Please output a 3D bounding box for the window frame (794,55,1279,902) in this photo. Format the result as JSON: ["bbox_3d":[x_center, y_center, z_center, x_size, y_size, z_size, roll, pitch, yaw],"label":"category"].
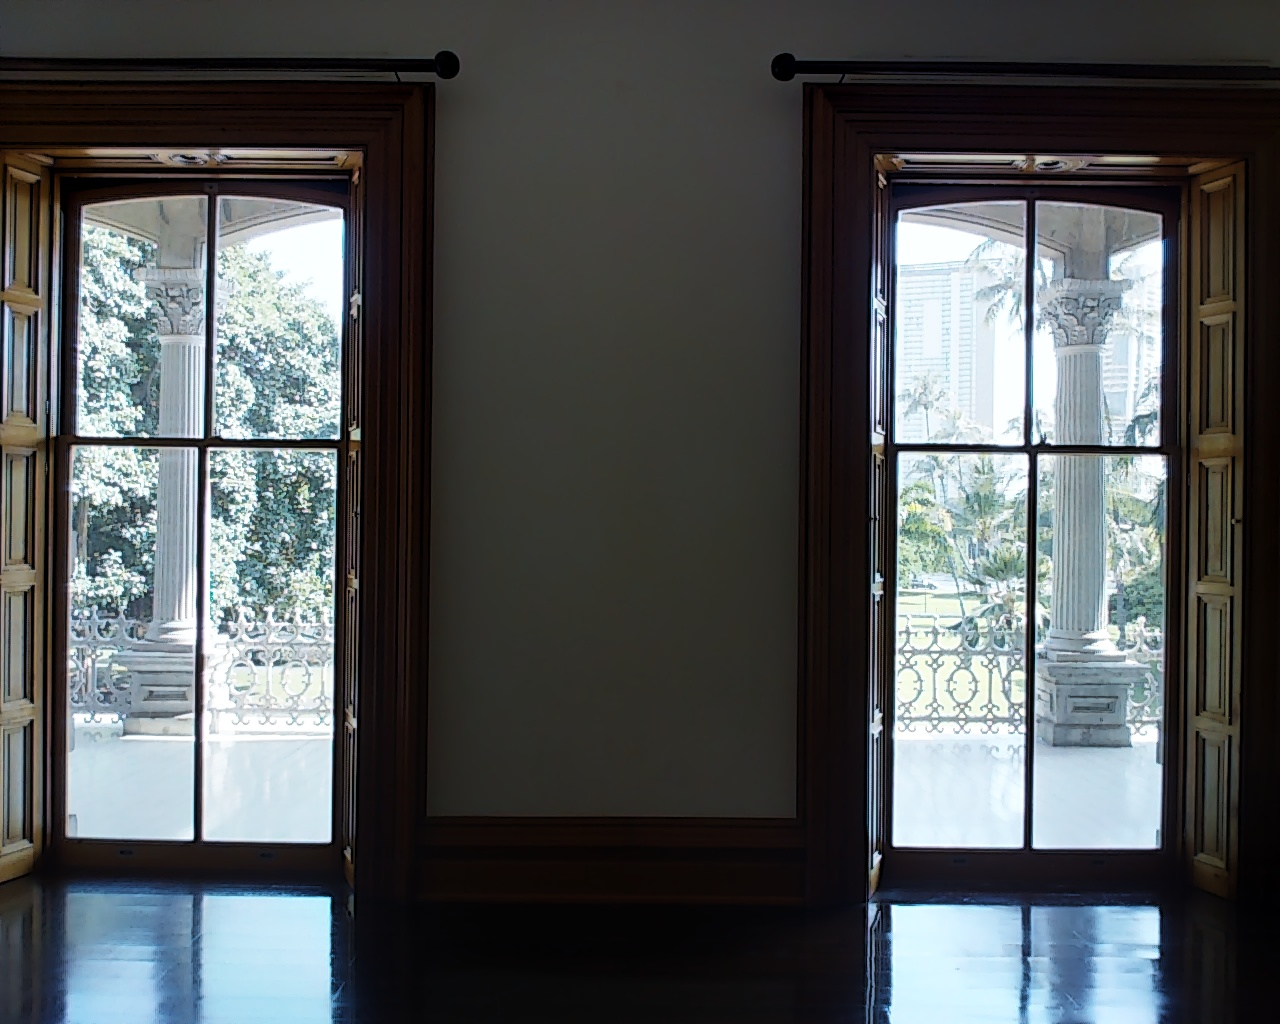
[{"bbox_3d":[1.810,-0.140,4.590,2.200,3.390,0.520,1,0,2],"label":"window frame"}]

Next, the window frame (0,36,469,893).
[{"bbox_3d":[-1.900,-0.200,4.620,2.200,3.430,0.570,1,0,2],"label":"window frame"}]
